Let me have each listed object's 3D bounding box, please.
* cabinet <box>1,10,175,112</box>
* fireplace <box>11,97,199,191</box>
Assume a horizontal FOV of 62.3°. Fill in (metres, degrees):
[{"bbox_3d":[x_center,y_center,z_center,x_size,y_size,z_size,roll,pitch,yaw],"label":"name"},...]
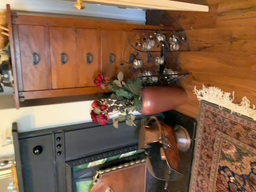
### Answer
[{"bbox_3d":[-0.270,-0.300,1.700,0.460,1.220,0.580,26,118,57],"label":"cabinet"},{"bbox_3d":[-0.200,0.930,1.800,0.670,1.230,1.610,29,121,56],"label":"fireplace"}]
